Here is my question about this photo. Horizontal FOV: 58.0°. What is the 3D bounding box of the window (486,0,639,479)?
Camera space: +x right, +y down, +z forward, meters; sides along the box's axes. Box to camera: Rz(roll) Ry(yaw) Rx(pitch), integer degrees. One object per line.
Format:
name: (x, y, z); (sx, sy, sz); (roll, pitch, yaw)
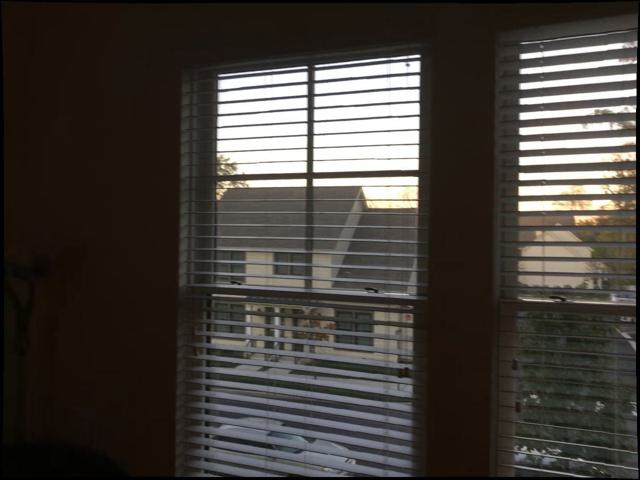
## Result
window: (0.968, 0.261, 1.550); (0.978, 1.915, 0.130); (1, 2, 22)

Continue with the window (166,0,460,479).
window: (-0.070, 0.221, 1.870); (0.988, 1.925, 0.080); (1, 2, 23)
